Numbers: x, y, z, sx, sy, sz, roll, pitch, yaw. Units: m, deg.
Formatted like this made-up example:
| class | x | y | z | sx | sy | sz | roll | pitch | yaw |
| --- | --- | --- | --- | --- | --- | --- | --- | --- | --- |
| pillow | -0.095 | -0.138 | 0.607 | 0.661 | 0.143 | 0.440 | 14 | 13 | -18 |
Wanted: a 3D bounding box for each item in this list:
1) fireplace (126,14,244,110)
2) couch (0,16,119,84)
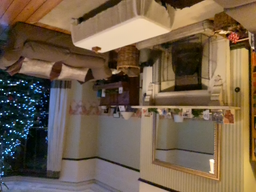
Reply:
| class | x | y | z | sx | sy | sz | roll | pitch | yaw |
| --- | --- | --- | --- | --- | --- | --- | --- | --- | --- |
| fireplace | 0.920 | -0.420 | 3.840 | 0.880 | 1.260 | 1.870 | 6 | 174 | -40 |
| couch | -1.300 | -0.760 | 4.250 | 2.080 | 0.710 | 0.960 | 7 | 174 | -41 |
